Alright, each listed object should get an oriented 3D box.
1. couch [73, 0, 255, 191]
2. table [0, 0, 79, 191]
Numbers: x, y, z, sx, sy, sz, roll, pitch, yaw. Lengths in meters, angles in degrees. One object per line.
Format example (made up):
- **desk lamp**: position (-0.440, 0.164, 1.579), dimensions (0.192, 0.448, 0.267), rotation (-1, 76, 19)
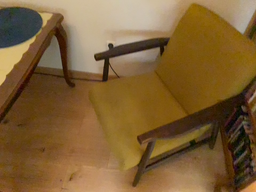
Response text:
- **couch**: position (0.170, 0.010, 1.180), dimensions (0.680, 0.760, 0.590), rotation (-19, 54, -17)
- **table**: position (-0.740, 0.000, 1.230), dimensions (0.550, 0.620, 1.070), rotation (7, 50, 3)
